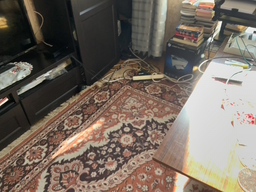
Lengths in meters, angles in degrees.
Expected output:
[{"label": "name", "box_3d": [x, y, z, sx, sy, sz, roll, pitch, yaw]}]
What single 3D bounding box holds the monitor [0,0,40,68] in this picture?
[{"label": "monitor", "box_3d": [-1.000, -0.390, 1.480, 0.050, 0.440, 0.770, 22, 45, 25]}]
